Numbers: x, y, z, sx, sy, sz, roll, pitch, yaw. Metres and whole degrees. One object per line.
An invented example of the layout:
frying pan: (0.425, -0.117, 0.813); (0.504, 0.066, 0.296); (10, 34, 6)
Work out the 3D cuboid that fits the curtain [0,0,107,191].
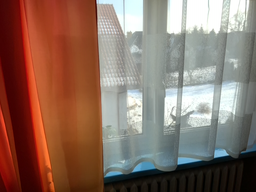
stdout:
curtain: (-0.500, 0.110, 1.160); (0.710, 2.600, 0.230); (-4, 14, -16)
